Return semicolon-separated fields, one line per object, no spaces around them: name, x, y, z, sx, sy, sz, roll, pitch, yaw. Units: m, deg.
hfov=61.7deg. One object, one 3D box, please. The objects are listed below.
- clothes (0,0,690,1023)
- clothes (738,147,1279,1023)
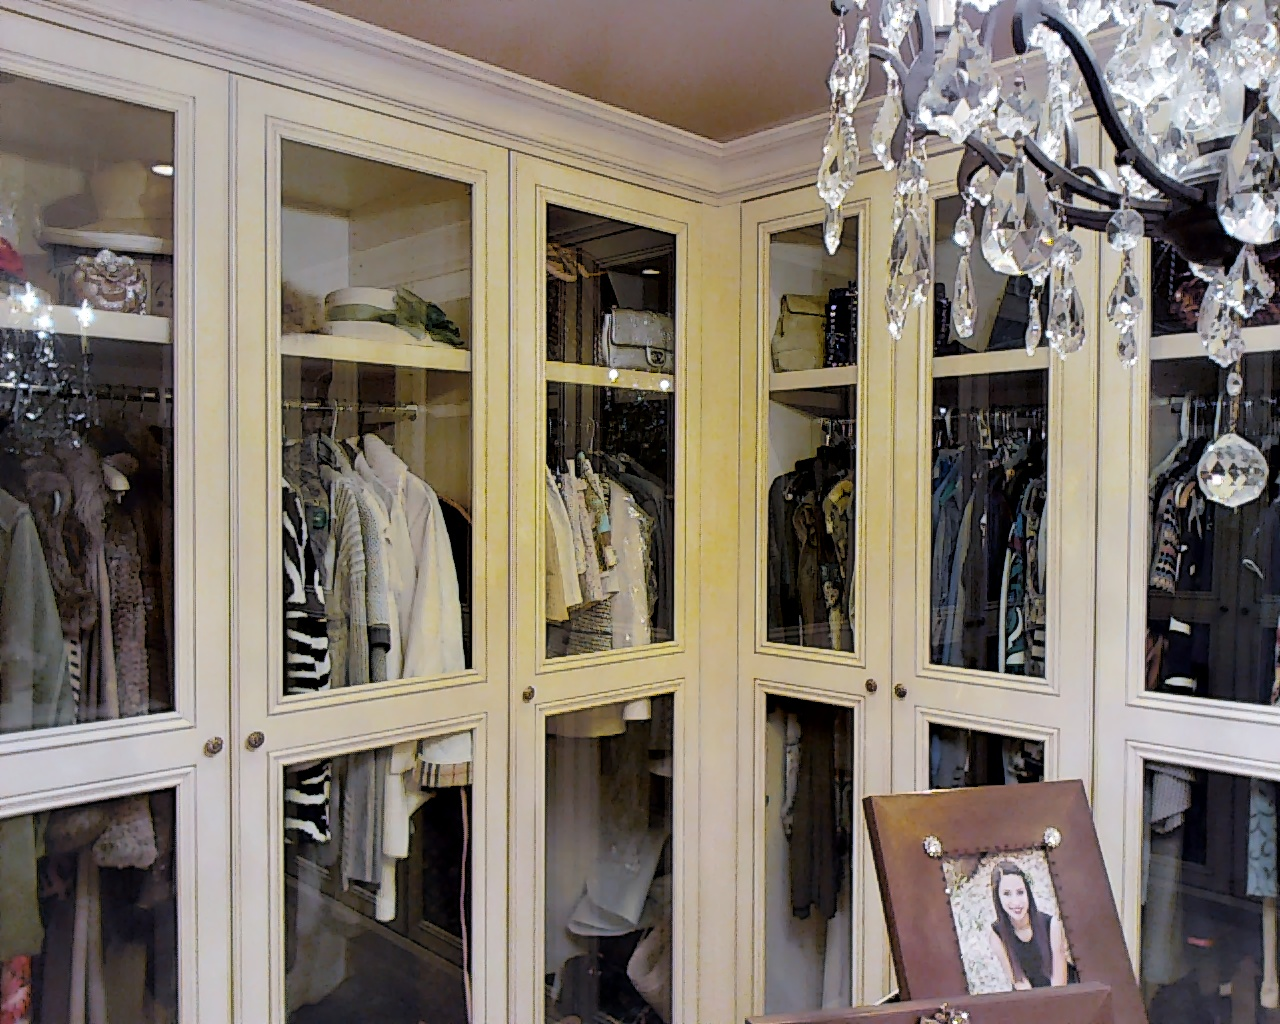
clothes;-0.860;0.350;1.940;0.620;2.190;2.140;2;2;44
clothes;1.220;0.390;1.820;0.450;1.940;2.390;-1;2;-43
